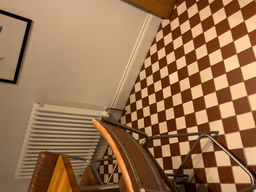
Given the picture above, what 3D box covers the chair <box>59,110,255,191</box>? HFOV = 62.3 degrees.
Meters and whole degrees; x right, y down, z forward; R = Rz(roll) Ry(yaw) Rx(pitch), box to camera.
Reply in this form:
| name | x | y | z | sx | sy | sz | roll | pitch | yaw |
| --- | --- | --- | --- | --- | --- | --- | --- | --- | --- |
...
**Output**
| name | x | y | z | sx | sy | sz | roll | pitch | yaw |
| --- | --- | --- | --- | --- | --- | --- | --- | --- | --- |
| chair | 0.250 | 0.440 | 1.060 | 0.430 | 0.980 | 0.490 | 48 | 120 | 48 |
